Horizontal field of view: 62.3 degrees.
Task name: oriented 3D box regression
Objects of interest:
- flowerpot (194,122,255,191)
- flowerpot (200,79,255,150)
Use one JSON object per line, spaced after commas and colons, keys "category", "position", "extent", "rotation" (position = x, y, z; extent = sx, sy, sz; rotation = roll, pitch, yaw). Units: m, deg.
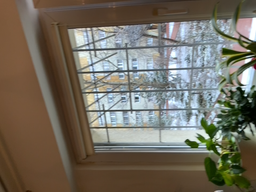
{"category": "flowerpot", "position": [0.600, 0.340, 1.140], "extent": [0.300, 0.400, 0.260], "rotation": [-83, -10, -58]}
{"category": "flowerpot", "position": [0.570, 0.080, 1.000], "extent": [0.230, 0.380, 0.250], "rotation": [-81, -12, -63]}
